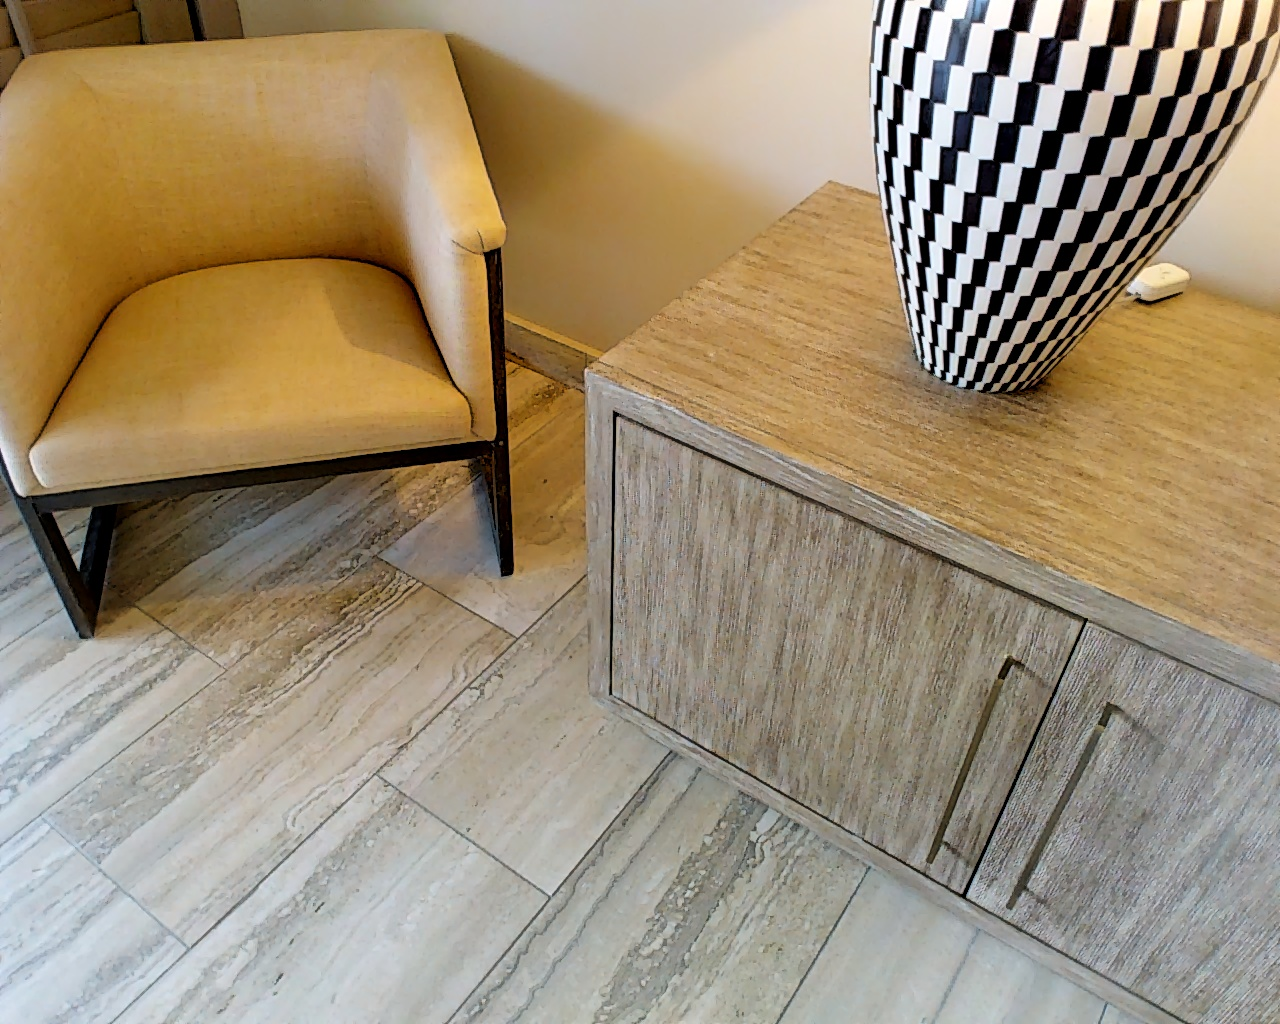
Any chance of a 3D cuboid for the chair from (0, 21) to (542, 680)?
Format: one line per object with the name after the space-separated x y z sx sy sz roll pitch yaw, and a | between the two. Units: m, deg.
-0.580 -0.300 1.720 0.710 0.660 0.790 -7 42 -10 | chair
